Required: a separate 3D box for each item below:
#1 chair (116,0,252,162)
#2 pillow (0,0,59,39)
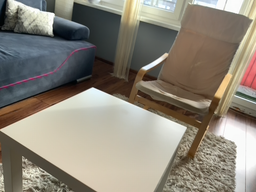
[{"bbox_3d":[0.450,-0.190,1.710,0.610,0.980,0.760,24,27,23],"label":"chair"},{"bbox_3d":[-0.990,-0.830,2.190,0.490,0.310,0.380,4,27,-18],"label":"pillow"}]
